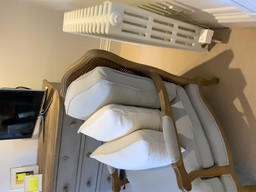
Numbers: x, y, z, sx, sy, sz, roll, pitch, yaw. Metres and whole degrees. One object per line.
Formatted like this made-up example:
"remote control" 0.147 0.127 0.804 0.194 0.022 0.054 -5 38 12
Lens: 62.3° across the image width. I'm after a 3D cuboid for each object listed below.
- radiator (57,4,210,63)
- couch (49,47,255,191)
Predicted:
"radiator" -0.020 -0.450 1.580 0.890 0.750 0.190 28 111 53
"couch" 0.080 0.340 1.360 0.760 0.920 0.860 -37 58 50
